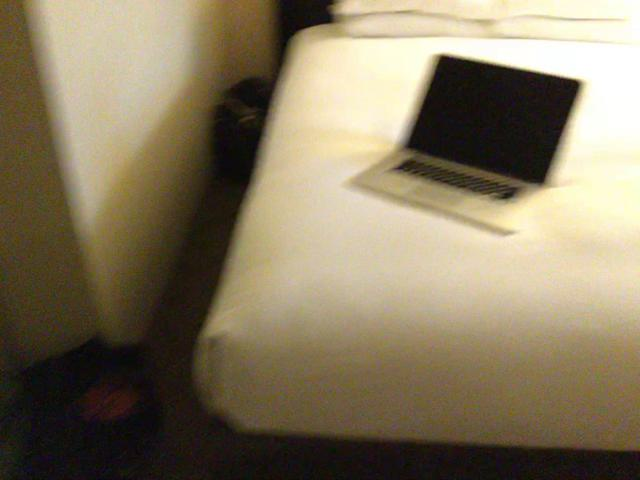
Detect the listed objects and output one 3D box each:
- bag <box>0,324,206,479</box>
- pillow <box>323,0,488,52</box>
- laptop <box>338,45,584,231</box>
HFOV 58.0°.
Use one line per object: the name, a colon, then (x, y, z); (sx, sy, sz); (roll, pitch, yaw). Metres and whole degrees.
bag: (-0.490, 0.430, 1.340); (0.330, 0.320, 0.310); (-5, 32, 4)
pillow: (0.320, -0.900, 2.320); (0.600, 0.120, 0.420); (-5, 32, 4)
laptop: (0.320, -0.240, 1.250); (0.370, 0.210, 0.410); (10, 39, 35)
